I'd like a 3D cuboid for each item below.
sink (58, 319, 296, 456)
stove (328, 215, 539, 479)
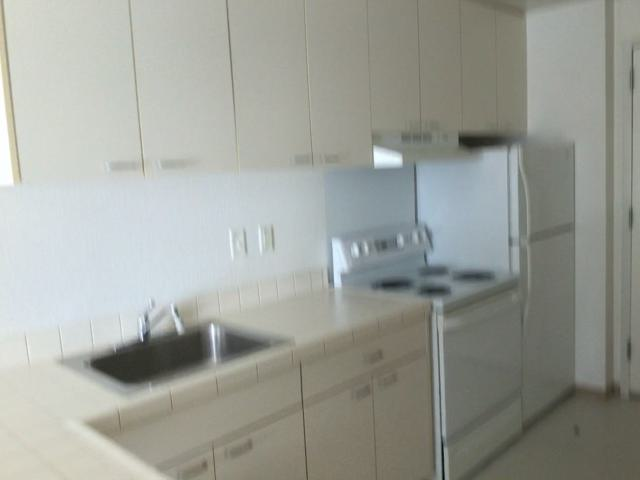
[{"bbox_3d":[-0.470,0.450,1.940,0.490,0.180,0.600,5,9,45],"label":"sink"},{"bbox_3d":[0.590,0.500,2.920,0.690,1.200,0.780,2,7,45],"label":"stove"}]
